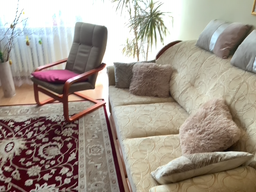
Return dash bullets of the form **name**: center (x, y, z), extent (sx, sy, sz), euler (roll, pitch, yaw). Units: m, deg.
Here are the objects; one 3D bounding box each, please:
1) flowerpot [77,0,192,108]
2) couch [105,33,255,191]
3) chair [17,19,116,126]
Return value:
- **flowerpot**: center (0.110, -0.950, 2.810), extent (1.220, 1.800, 0.860), euler (12, 29, 19)
- **couch**: center (0.410, 0.130, 1.810), extent (1.000, 0.920, 1.930), euler (-3, 28, -11)
- **chair**: center (-0.680, -0.350, 2.590), extent (0.690, 0.980, 0.810), euler (23, 34, 34)
